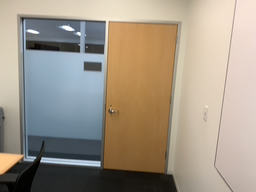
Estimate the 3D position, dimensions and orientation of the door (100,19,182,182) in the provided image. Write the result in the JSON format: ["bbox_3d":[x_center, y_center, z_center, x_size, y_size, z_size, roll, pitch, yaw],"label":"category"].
[{"bbox_3d":[0.140,0.120,2.980,0.980,2.220,0.120,4,10,2],"label":"door"}]
